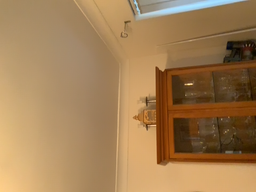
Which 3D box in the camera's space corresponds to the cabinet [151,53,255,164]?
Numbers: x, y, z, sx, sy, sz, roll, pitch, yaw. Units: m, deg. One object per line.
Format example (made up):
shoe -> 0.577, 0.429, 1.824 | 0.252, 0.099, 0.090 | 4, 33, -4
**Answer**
cabinet -> 1.190, 0.100, 1.590 | 0.400, 1.970, 0.780 | 49, -140, -64
